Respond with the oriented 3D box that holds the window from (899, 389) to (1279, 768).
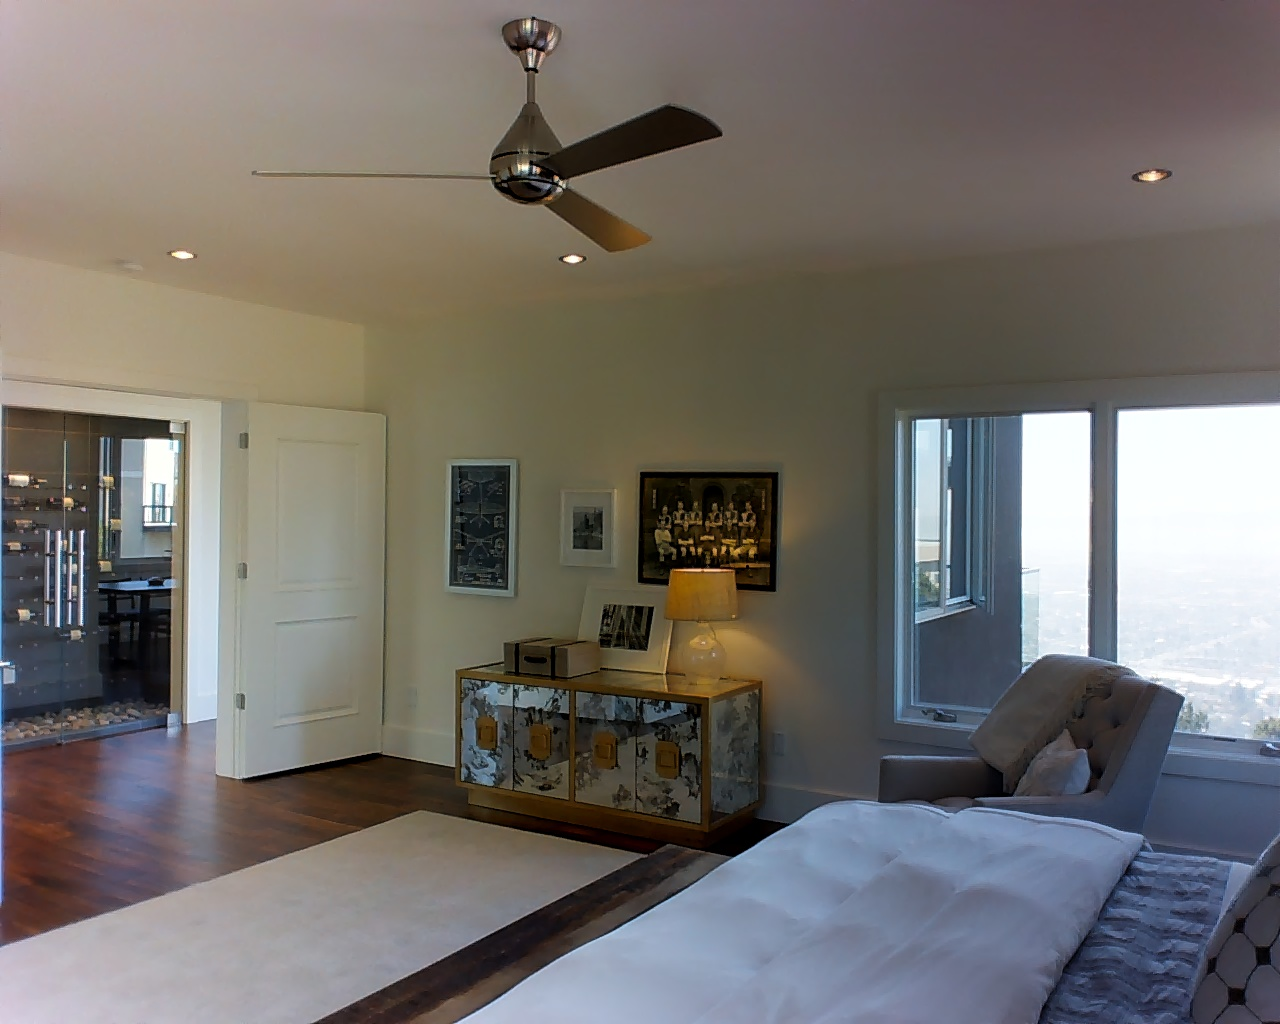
[{"bbox_3d":[2.040,0.260,4.700,1.790,1.510,0.160,0,0,32],"label":"window"}]
